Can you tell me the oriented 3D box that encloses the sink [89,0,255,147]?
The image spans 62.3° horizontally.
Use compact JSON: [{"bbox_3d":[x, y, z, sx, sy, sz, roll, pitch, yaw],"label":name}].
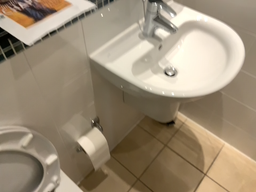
[{"bbox_3d":[0.200,-0.150,0.870,0.430,0.160,0.550,34,57,24],"label":"sink"}]
